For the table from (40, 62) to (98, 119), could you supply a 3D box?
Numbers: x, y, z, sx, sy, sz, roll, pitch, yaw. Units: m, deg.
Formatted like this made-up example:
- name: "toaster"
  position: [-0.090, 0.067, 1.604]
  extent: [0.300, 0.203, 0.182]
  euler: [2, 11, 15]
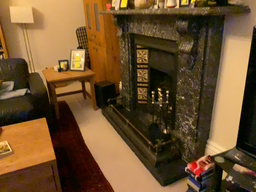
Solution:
- name: "table"
  position: [-0.840, -0.110, 3.000]
  extent: [0.620, 0.540, 0.620]
  euler: [-12, 25, -24]

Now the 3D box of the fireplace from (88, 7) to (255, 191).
- name: "fireplace"
  position: [0.210, -0.190, 2.140]
  extent: [0.640, 1.270, 1.770]
  euler: [-11, 24, -23]
